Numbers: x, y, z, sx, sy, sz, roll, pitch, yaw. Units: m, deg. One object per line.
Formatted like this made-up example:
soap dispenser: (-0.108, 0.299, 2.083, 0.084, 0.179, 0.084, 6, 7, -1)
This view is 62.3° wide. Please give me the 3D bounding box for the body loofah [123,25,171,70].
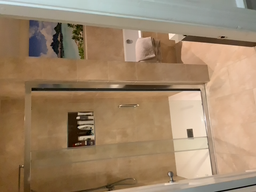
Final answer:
body loofah: (0.250, -0.670, 3.070, 0.530, 0.490, 0.460, 164, 105, -69)
